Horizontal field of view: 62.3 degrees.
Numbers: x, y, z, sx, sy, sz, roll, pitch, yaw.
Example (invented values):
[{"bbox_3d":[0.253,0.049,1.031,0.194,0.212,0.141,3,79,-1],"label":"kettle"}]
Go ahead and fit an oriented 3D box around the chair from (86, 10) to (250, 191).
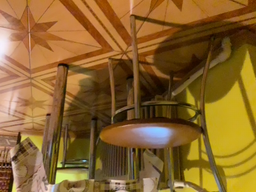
[{"bbox_3d":[0.120,0.150,0.910,0.490,0.820,0.390,9,155,-21],"label":"chair"}]
